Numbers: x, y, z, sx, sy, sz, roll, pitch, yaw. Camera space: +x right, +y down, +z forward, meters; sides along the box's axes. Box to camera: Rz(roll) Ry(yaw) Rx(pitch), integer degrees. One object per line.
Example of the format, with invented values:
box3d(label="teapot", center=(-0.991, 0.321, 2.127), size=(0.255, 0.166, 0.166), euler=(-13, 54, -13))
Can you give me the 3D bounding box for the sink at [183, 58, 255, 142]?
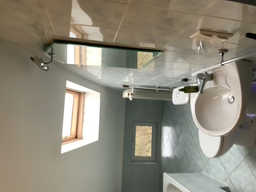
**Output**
box3d(label="sink", center=(0.620, 0.040, 1.450), size=(0.590, 0.220, 0.450), euler=(165, 108, -77))
